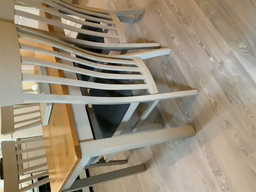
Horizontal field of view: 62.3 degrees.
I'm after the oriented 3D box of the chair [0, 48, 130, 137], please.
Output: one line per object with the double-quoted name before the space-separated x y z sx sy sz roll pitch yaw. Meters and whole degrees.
"chair" -0.640 -0.020 2.060 0.710 1.050 0.420 -54 48 46
